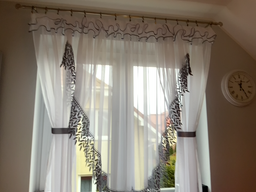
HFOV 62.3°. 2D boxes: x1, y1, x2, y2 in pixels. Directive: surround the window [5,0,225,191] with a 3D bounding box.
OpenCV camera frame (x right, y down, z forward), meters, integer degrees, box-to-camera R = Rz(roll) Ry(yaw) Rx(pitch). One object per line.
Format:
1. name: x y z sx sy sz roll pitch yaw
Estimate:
1. window: -0.030 0.090 1.700 1.550 1.630 0.270 2 -9 -13
